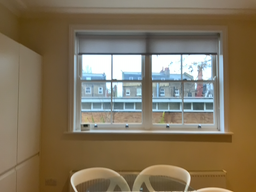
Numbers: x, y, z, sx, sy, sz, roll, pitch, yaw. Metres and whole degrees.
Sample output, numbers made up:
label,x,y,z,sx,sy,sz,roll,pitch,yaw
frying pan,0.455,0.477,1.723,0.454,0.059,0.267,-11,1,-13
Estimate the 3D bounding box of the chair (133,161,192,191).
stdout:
label,x,y,z,sx,sy,sz,roll,pitch,yaw
chair,0.380,1.240,2.530,0.600,0.780,0.520,0,-2,-2
